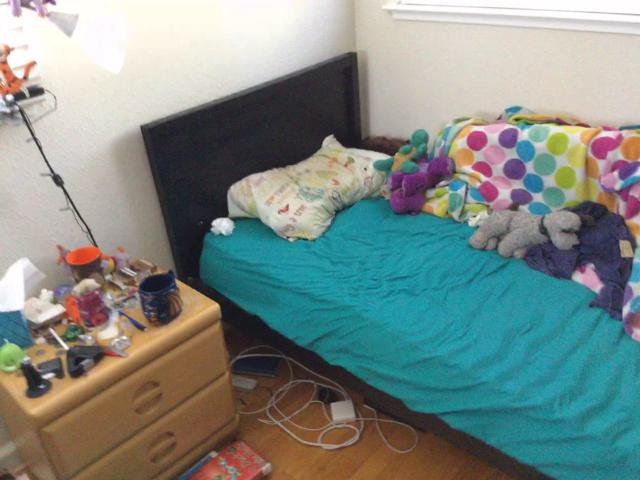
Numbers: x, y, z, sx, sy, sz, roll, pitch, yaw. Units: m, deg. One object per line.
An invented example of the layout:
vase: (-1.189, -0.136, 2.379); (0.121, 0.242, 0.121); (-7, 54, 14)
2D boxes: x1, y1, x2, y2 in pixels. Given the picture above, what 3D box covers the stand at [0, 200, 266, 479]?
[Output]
stand: (-0.590, 0.360, 1.620); (0.460, 0.690, 0.620); (19, 37, 42)
